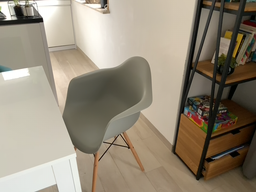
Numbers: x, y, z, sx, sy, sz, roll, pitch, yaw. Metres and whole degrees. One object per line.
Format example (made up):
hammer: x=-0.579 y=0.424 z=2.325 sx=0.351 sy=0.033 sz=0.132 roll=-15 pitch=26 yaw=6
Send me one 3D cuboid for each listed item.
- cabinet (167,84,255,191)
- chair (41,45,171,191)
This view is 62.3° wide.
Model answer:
cabinet: x=0.750 y=0.280 z=1.650 sx=0.770 sy=0.500 sz=0.350 roll=-15 pitch=34 yaw=-25
chair: x=-0.170 y=0.150 z=1.530 sx=0.600 sy=0.810 sz=0.610 roll=-16 pitch=35 yaw=-27
